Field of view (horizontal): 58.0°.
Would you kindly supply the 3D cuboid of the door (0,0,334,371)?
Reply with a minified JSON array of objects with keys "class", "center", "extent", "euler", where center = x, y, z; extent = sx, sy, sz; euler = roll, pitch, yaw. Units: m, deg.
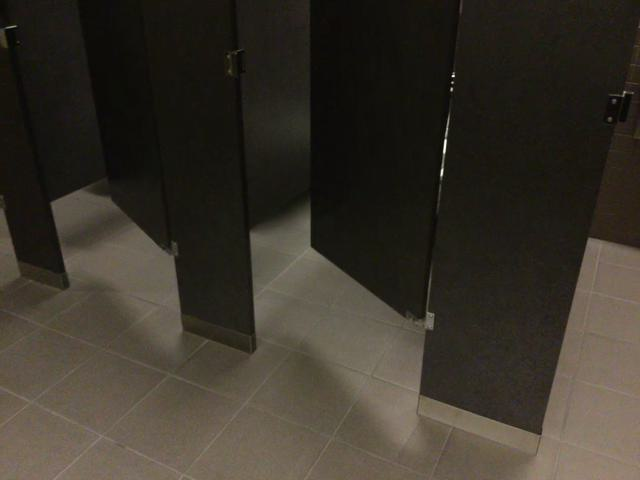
[{"class":"door","center":[-0.480,-0.650,1.780],"extent":[0.990,2.070,0.340],"euler":[13,30,22]}]

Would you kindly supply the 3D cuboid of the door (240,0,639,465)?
[{"class":"door","center":[0.310,-0.460,1.470],"extent":[0.940,2.050,0.390],"euler":[13,30,22]}]
